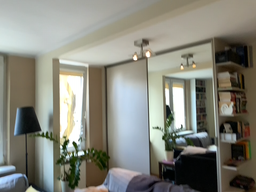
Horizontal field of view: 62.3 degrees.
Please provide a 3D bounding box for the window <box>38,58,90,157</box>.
[{"bbox_3d":[-1.140,0.190,3.860,0.900,1.620,0.230,1,-4,-45],"label":"window"}]

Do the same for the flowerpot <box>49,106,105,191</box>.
[{"bbox_3d":[-0.680,0.770,2.870,0.420,1.240,0.590,-4,-4,42],"label":"flowerpot"}]
